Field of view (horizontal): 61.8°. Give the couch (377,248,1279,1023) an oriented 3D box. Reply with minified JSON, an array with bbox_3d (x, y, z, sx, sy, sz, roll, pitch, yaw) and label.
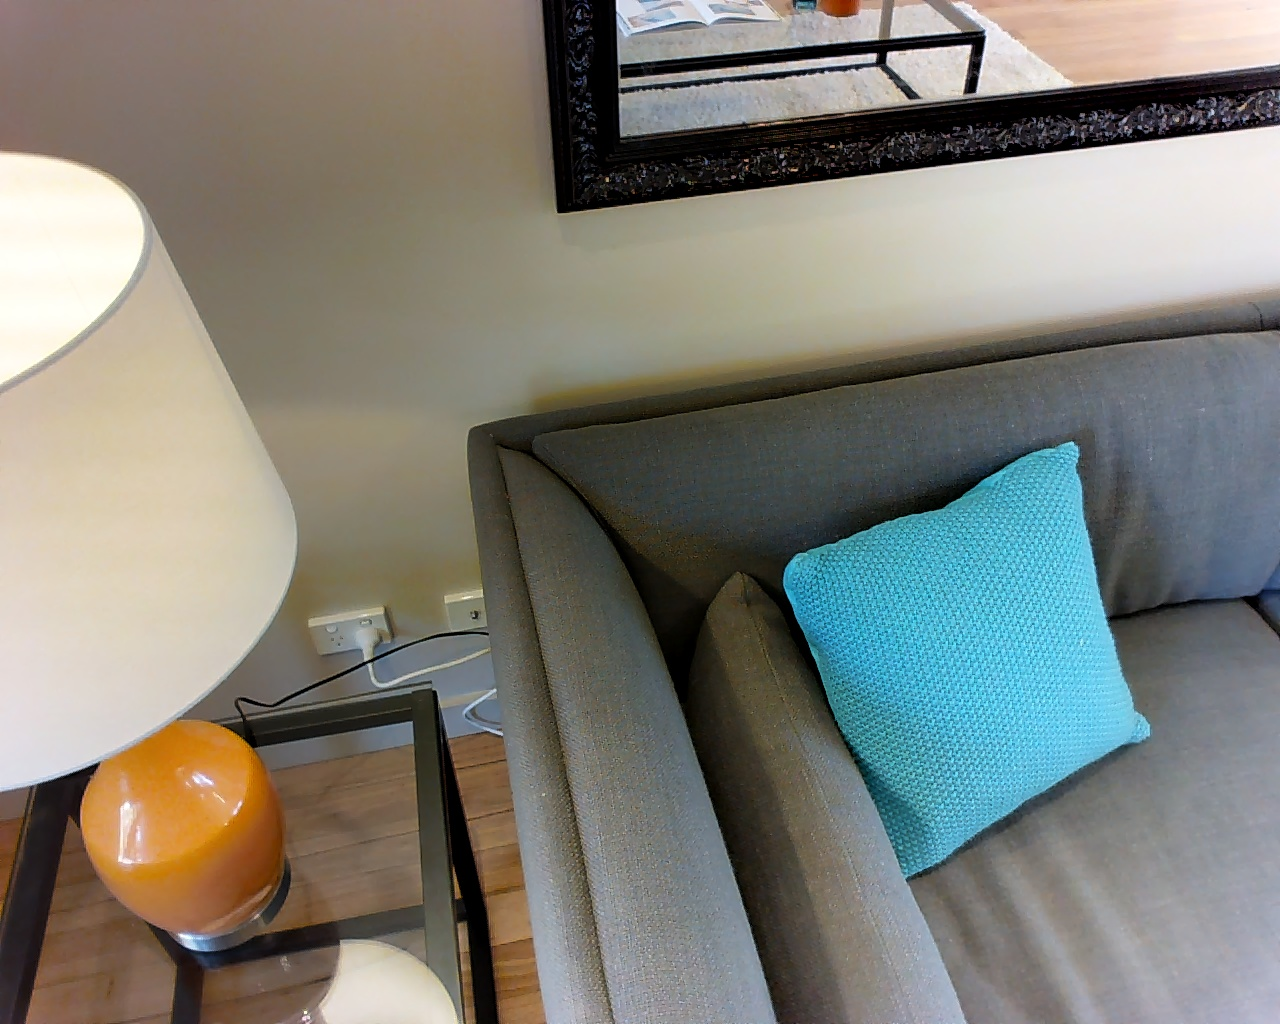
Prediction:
[{"bbox_3d":[0.960,0.260,1.410,2.390,0.780,1.020,-10,44,-9],"label":"couch"}]
